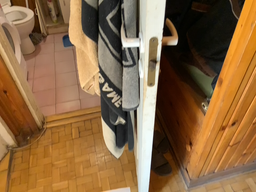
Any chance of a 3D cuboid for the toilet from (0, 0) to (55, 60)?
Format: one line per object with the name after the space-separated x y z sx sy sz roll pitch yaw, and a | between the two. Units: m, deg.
-1.240 -0.900 2.180 0.630 0.830 0.400 22 50 21 | toilet
